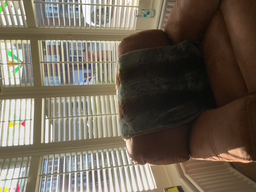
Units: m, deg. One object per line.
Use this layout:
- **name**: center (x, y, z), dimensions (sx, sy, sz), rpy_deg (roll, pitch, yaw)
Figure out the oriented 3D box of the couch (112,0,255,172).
- **couch**: center (0.490, -0.190, 1.350), dimensions (1.020, 0.960, 1.150), rpy_deg (119, 146, -67)
